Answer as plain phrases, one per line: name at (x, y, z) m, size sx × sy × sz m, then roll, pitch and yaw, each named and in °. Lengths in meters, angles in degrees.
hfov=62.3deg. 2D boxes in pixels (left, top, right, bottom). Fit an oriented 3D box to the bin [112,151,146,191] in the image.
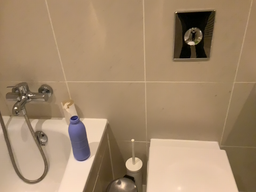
bin at (0.020, 0.550, 1.250) m, size 0.160 × 0.310 × 0.300 m, roll 0°, pitch 33°, yaw 7°
